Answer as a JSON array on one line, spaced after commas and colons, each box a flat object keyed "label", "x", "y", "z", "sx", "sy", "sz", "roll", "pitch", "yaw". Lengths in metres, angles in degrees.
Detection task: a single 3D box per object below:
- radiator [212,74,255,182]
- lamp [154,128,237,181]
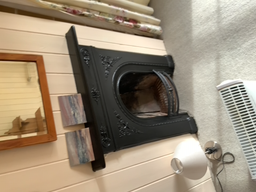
[{"label": "radiator", "x": 0.750, "y": 0.150, "z": 1.230, "sx": 0.130, "sy": 0.390, "sz": 0.550, "roll": -33, "pitch": 67, "yaw": 47}, {"label": "lamp", "x": 0.480, "y": 0.400, "z": 1.500, "sx": 0.290, "sy": 0.480, "sz": 0.240, "roll": -25, "pitch": 73, "yaw": 49}]
